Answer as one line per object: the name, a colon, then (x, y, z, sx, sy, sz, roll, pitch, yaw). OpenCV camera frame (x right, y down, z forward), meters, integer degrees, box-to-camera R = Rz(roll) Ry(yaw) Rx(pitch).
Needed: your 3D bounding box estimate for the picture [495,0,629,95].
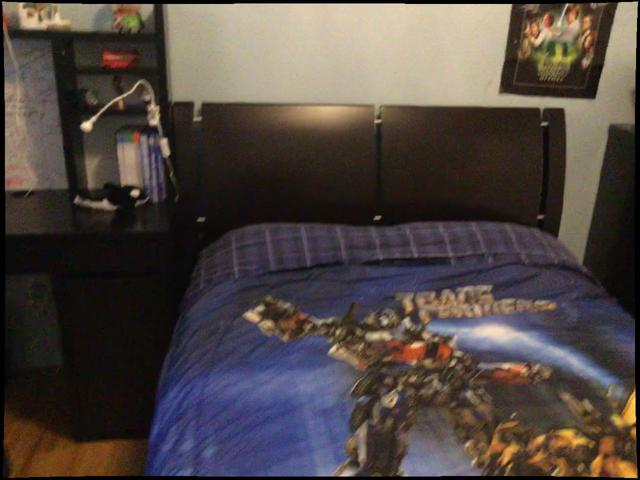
picture: (0.919, -0.831, 2.170, 0.450, 0.550, 0.060, -2, 22, -8)
